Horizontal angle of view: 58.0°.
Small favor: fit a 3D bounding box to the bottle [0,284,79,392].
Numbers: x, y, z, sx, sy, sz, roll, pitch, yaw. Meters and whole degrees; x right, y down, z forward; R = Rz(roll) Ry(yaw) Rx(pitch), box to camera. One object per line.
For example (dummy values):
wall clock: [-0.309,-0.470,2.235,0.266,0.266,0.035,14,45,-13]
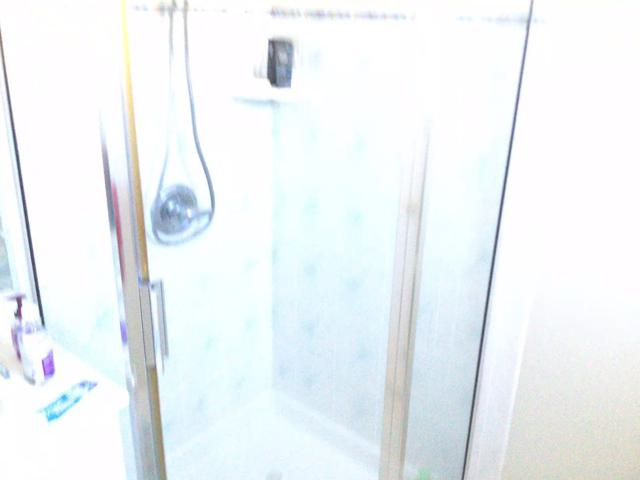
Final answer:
bottle: [-0.660,0.220,1.330,0.150,0.180,0.120,15,22,37]
